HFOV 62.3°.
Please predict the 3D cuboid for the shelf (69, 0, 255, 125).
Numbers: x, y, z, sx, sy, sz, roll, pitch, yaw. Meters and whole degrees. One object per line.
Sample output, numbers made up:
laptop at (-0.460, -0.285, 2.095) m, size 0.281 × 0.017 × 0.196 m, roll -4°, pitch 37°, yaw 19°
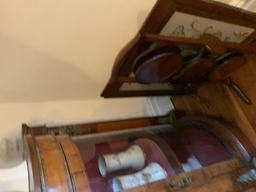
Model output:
shelf at (0.230, -0.150, 0.980) m, size 0.660 × 0.820 × 0.230 m, roll -50°, pitch 51°, yaw 49°
